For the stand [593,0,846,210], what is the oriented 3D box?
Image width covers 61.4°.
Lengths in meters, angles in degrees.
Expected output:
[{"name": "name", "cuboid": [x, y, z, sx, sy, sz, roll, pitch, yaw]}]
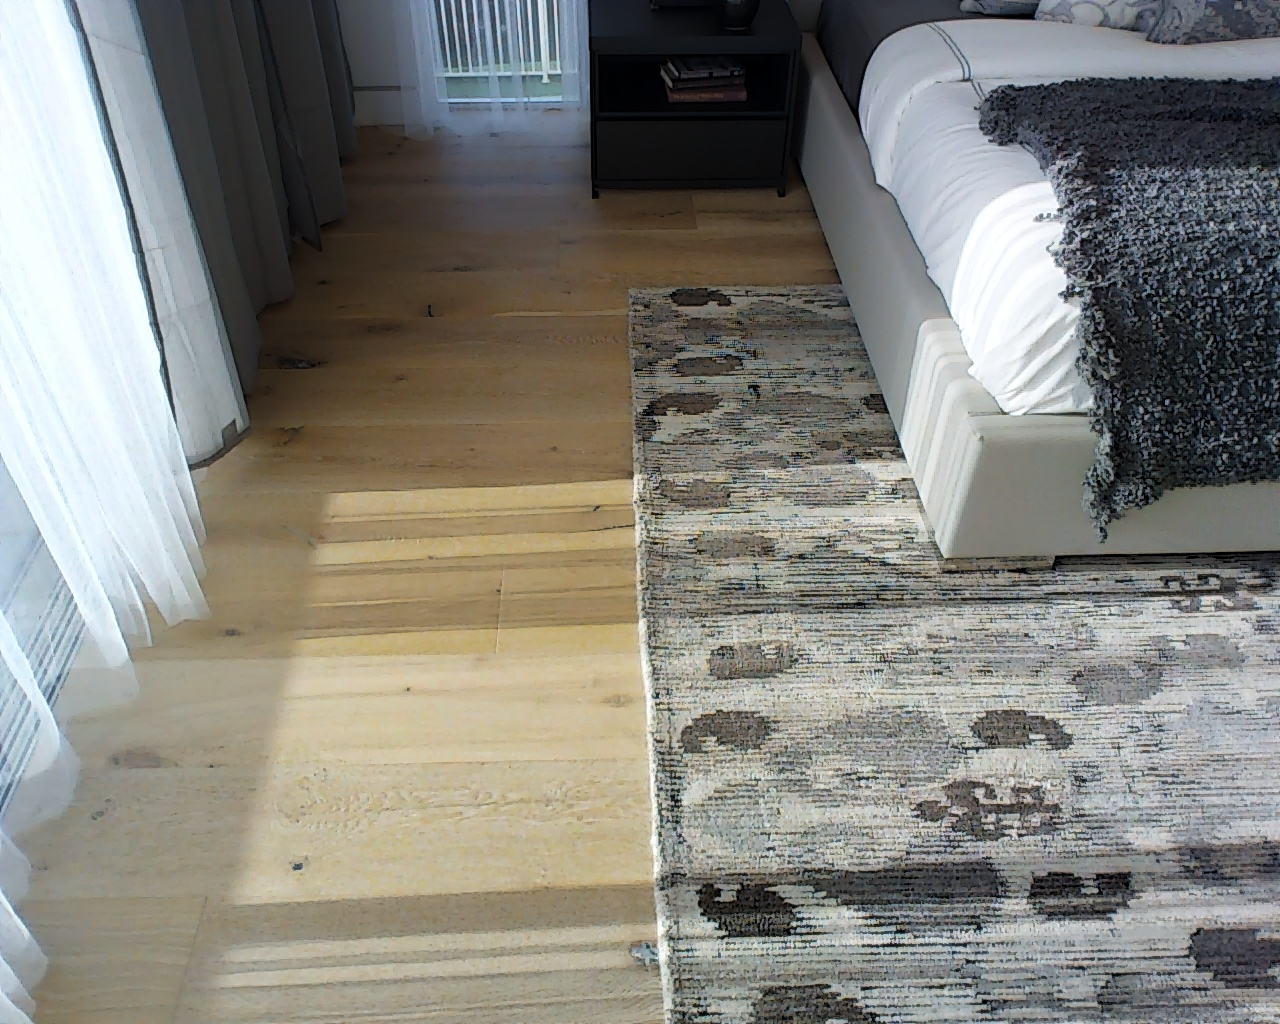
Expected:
[{"name": "stand", "cuboid": [0.230, -1.380, 3.580, 0.750, 0.510, 0.600, -1, 41, -1]}]
